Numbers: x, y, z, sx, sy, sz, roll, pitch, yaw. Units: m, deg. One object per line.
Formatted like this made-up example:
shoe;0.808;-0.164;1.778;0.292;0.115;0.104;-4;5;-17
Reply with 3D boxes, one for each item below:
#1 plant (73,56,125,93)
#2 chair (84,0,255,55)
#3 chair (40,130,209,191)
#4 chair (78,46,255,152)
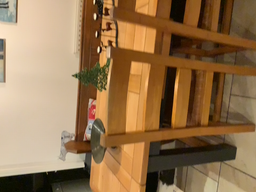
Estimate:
plant;-0.180;-0.130;1.320;0.130;0.280;0.200;16;103;62
chair;0.330;-0.530;1.230;0.520;1.020;0.430;16;103;62
chair;-0.030;0.690;1.670;0.490;1.190;0.670;20;106;62
chair;0.280;0.000;1.290;0.520;1.020;0.420;16;103;62
